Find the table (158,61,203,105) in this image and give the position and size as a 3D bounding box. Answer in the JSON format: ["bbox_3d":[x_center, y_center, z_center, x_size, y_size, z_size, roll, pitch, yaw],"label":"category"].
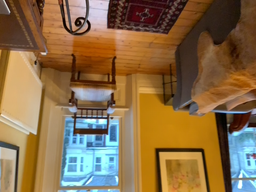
[{"bbox_3d":[0.760,-0.180,3.190,0.500,0.510,0.430,2,163,-8],"label":"table"}]
